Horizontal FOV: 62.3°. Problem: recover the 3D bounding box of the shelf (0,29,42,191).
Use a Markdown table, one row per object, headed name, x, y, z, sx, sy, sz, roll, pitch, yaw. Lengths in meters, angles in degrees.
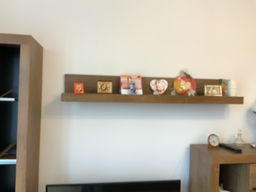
| name | x | y | z | sx | sy | sz | roll | pitch | yaw |
| --- | --- | --- | --- | --- | --- | --- | --- | --- | --- |
| shelf | -0.790 | 0.560 | 1.420 | 0.280 | 1.900 | 0.390 | 2 | 0 | -10 |
